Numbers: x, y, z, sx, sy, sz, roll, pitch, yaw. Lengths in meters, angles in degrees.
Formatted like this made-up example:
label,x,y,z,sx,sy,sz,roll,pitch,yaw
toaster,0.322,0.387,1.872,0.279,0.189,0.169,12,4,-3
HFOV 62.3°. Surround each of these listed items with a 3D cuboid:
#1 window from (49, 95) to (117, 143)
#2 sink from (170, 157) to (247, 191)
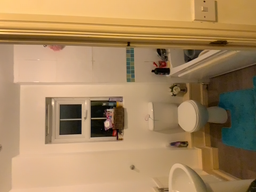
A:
label,x,y,z,sx,sy,sz,roll,pitch,yaw
window,-0.600,0.300,2.870,0.110,0.880,0.610,163,106,-80
sink,0.480,0.670,1.370,0.560,0.210,0.410,160,110,-80
